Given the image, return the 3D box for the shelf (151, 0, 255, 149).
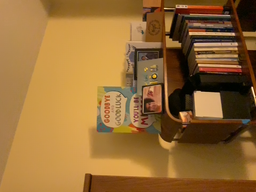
[{"bbox_3d":[0.940,-0.170,1.160,0.360,1.590,0.840,85,-174,-61],"label":"shelf"}]
